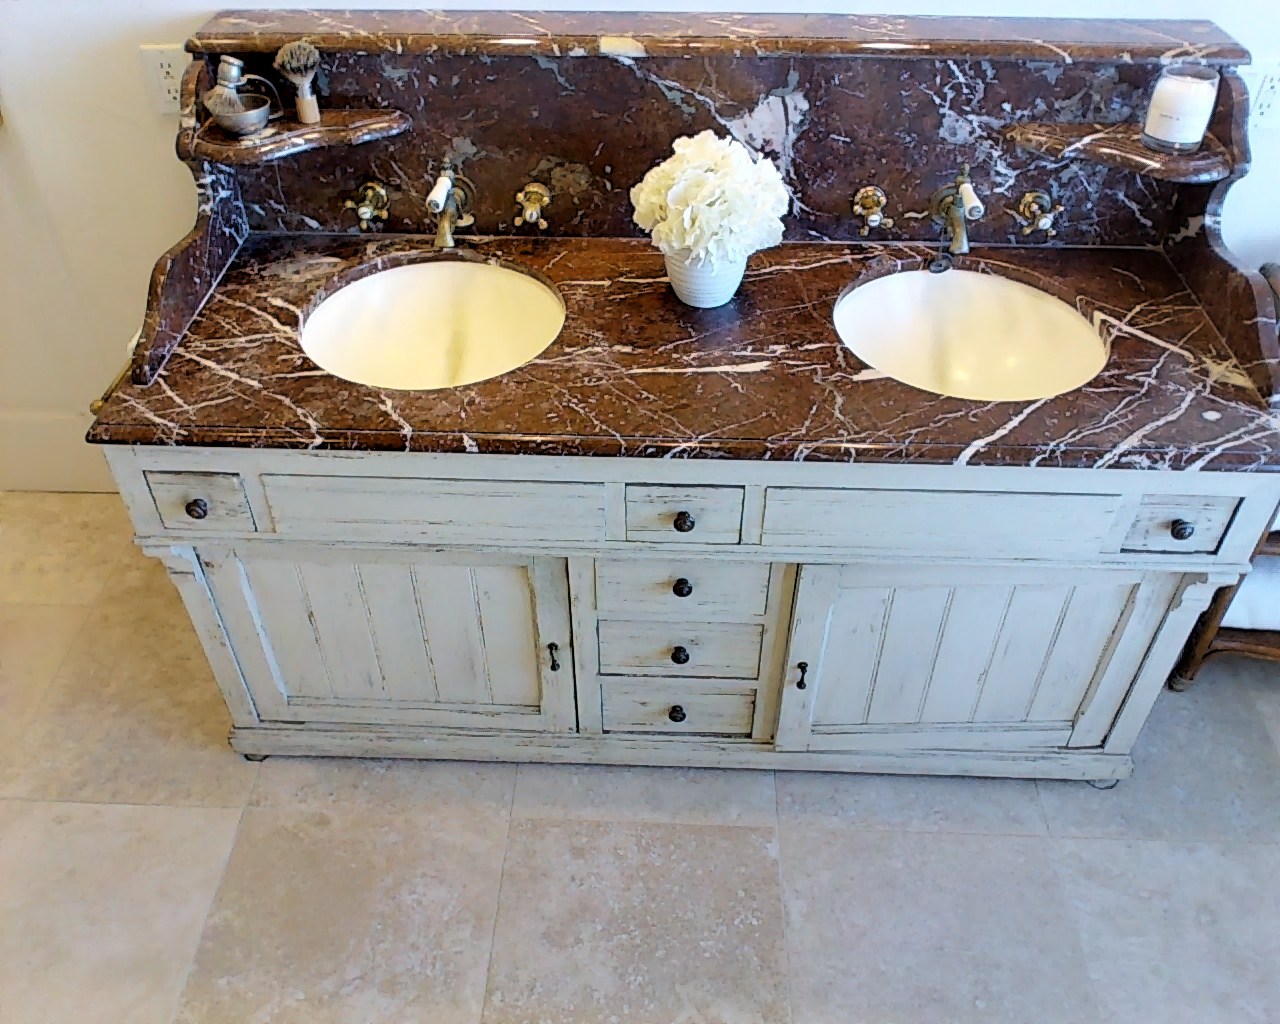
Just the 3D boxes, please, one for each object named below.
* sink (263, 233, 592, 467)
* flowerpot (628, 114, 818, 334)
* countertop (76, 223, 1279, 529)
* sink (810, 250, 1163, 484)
[{"bbox_3d":[-0.300,-0.260,1.670,0.430,0.180,0.370,0,42,1],"label":"sink"},{"bbox_3d":[0.110,-0.420,1.570,0.250,0.240,0.210,0,42,1],"label":"flowerpot"},{"bbox_3d":[0.090,-0.230,1.610,1.610,0.120,0.570,1,42,1],"label":"countertop"},{"bbox_3d":[0.500,-0.230,1.650,0.420,0.180,0.360,0,42,1],"label":"sink"}]
